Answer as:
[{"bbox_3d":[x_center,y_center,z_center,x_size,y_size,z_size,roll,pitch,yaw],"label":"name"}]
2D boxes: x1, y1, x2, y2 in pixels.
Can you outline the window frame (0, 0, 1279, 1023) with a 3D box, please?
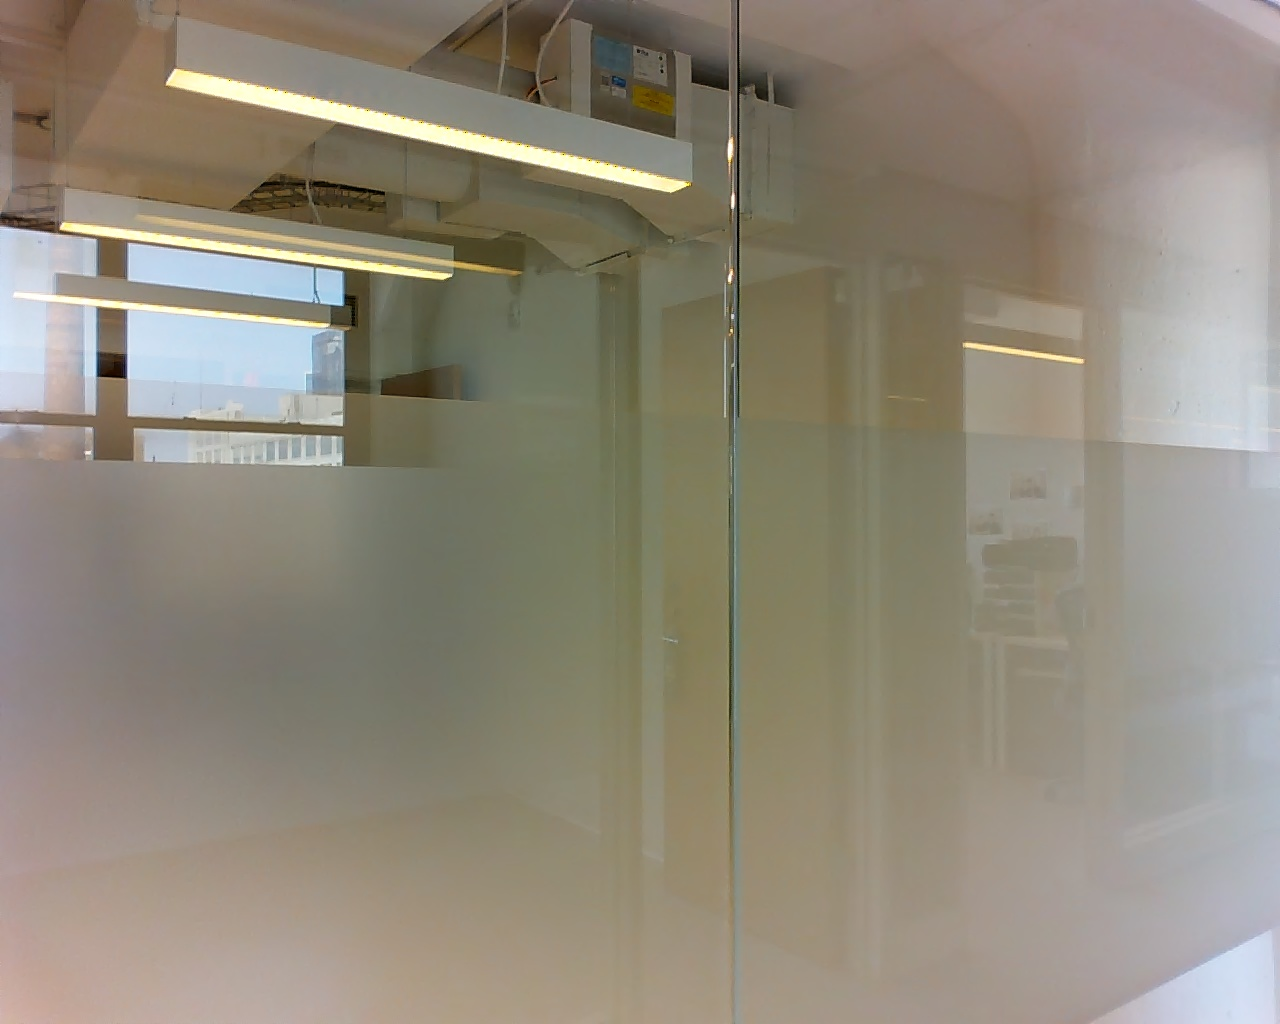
[{"bbox_3d":[-1.200,-0.060,0.520,7.049,2.981,1.160,0,-1,-37],"label":"window frame"}]
